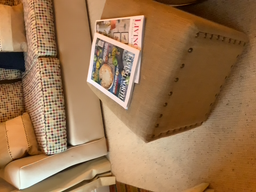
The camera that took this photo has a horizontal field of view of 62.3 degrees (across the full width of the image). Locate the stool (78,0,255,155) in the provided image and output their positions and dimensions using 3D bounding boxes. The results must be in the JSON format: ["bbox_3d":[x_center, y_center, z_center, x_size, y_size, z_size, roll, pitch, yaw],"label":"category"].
[{"bbox_3d":[0.140,-0.160,0.960,0.500,0.440,0.540,42,123,37],"label":"stool"}]

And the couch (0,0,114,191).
[{"bbox_3d":[-0.900,-0.530,1.890,1.180,0.650,2.270,-12,85,48],"label":"couch"}]
